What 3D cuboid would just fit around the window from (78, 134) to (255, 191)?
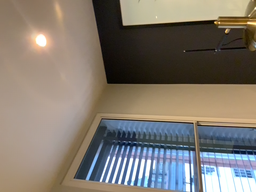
[{"bbox_3d":[0.510,0.540,1.460,0.610,1.590,0.090,-68,-24,-57],"label":"window"}]
